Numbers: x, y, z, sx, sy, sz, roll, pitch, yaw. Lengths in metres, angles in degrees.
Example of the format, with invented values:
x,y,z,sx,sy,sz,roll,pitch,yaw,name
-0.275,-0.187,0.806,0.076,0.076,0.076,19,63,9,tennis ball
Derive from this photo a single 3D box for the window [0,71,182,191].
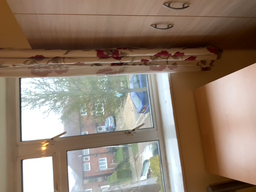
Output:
x,y,z,sx,sy,sz,roll,pitch,yaw,name
-0.220,0.260,1.340,0.030,1.050,0.830,131,134,-71,window

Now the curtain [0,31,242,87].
x,y,z,sx,sy,sz,roll,pitch,yaw,name
-0.060,-0.220,1.210,0.200,1.460,0.220,136,128,-72,curtain
